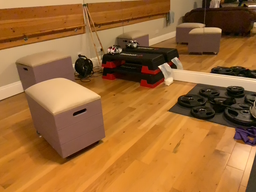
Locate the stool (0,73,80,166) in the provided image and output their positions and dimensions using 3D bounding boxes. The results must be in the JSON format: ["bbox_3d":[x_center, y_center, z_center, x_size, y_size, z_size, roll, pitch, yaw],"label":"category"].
[{"bbox_3d":[-0.820,0.160,1.920,0.410,0.530,0.650,-23,31,-37],"label":"stool"}]
